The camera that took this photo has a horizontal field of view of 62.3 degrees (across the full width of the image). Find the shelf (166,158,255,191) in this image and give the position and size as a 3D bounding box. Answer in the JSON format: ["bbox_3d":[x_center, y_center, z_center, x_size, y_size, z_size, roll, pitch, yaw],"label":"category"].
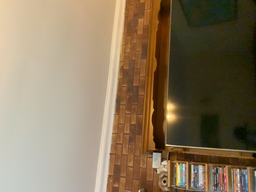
[{"bbox_3d":[0.760,0.700,1.810,0.150,0.830,0.250,31,-119,-62],"label":"shelf"}]

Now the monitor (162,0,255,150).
[{"bbox_3d":[0.810,-0.360,1.820,0.080,0.960,1.570,31,-119,-62],"label":"monitor"}]
